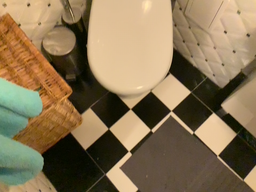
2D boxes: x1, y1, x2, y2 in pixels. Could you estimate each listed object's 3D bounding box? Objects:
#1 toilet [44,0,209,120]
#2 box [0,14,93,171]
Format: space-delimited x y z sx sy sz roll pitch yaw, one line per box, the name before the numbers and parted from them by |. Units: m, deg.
toilet | 0.010 -0.310 0.940 0.370 0.760 0.650 3 71 0
box | -0.470 0.040 0.960 0.360 0.530 0.430 -38 75 -13
